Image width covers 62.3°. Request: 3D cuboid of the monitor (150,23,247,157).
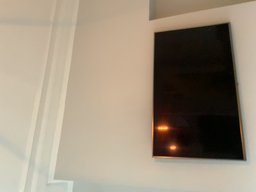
[{"bbox_3d":[0.560,-0.070,1.880,0.040,0.710,1.170,43,-135,-63],"label":"monitor"}]
